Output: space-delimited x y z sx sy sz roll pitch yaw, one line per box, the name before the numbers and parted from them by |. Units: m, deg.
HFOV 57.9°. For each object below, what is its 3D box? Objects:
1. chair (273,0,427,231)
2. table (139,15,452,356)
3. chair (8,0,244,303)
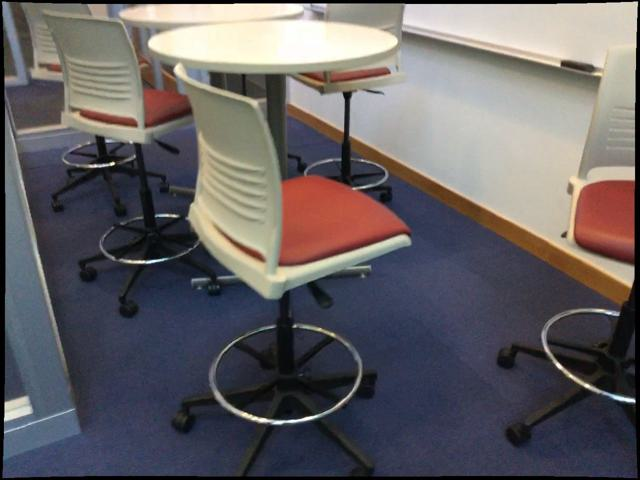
chair | 0.130 -0.711 2.930 0.530 1.131 0.510 -15 33 -25
table | -0.120 -0.290 2.350 0.879 1.011 0.780 -15 33 -25
chair | -0.749 -0.410 2.450 0.570 1.121 0.530 16 33 25
